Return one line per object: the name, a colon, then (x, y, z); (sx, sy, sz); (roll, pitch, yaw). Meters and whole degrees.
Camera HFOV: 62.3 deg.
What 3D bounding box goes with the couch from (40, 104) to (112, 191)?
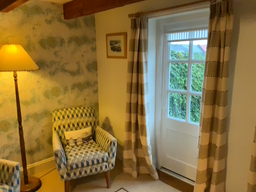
couch: (-0.720, 0.640, 2.830); (0.720, 0.840, 0.830); (-6, 12, -26)
